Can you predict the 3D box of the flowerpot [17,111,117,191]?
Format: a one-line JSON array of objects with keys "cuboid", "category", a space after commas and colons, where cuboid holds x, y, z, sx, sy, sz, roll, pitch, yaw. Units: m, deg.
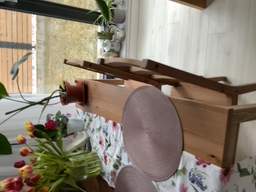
[{"cuboid": [-0.390, 0.350, 1.260, 0.500, 0.410, 0.350, 25, 112, 52], "category": "flowerpot"}]
